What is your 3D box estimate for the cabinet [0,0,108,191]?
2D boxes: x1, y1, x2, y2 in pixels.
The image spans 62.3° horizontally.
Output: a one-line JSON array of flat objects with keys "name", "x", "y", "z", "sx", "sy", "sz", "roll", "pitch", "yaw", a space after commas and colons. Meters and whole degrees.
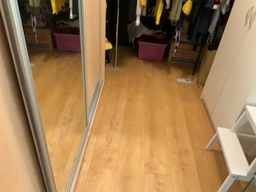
[{"name": "cabinet", "x": -0.550, "y": -0.560, "z": 0.890, "sx": 0.620, "sy": 2.440, "sz": 2.360, "roll": 7, "pitch": 37, "yaw": 0}]

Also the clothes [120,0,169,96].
[{"name": "clothes", "x": 0.160, "y": -1.070, "z": 2.360, "sx": 0.370, "sy": 1.830, "sz": 1.090, "roll": 3, "pitch": 36, "yaw": -3}]
